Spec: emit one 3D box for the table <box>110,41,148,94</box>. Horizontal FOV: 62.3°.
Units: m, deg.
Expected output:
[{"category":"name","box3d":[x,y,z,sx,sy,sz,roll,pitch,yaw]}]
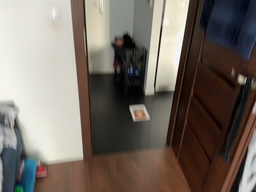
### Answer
[{"category":"table","box3d":[-0.030,-0.500,3.430,0.330,0.530,0.920,-7,31,-17]}]
